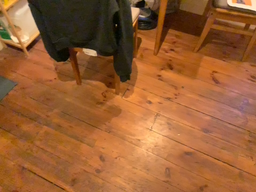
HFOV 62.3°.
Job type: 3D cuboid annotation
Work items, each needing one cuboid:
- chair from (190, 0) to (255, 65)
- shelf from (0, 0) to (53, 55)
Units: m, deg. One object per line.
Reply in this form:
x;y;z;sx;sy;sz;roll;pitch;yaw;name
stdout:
0.900;-0.770;1.630;0.550;0.890;0.480;15;58;9;chair
-0.920;-0.810;1.600;0.260;0.970;0.350;20;59;12;shelf
